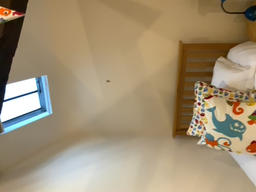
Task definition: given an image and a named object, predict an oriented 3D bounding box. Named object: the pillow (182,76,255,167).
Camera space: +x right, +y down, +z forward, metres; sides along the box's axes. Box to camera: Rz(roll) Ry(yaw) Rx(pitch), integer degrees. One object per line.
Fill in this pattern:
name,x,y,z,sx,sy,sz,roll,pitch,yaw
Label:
pillow,0.790,0.160,1.810,0.740,0.440,0.490,-88,-2,-70
